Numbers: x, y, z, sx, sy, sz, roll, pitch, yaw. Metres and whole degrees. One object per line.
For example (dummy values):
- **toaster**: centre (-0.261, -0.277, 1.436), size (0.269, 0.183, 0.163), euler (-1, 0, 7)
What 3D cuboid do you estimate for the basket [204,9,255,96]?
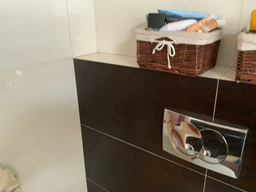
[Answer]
- **basket**: centre (0.390, -0.110, 0.520), size (0.310, 0.190, 0.210), euler (16, 27, 38)

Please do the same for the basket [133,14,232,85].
- **basket**: centre (0.170, -0.170, 0.710), size (0.270, 0.190, 0.150), euler (15, 26, 35)
